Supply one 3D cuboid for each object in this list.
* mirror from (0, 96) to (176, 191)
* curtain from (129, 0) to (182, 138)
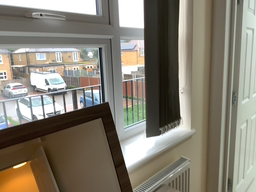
[{"bbox_3d":[-0.190,0.300,0.640,0.540,0.470,0.400,-12,17,-43],"label":"mirror"},{"bbox_3d":[0.170,-0.390,1.280,0.240,1.240,0.200,-13,16,-43],"label":"curtain"}]
